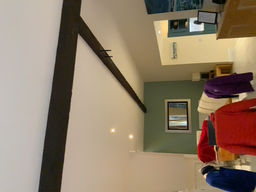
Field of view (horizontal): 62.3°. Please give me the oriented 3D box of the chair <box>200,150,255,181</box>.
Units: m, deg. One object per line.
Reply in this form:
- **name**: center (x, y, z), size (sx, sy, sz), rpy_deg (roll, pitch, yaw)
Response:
- **chair**: center (1.910, 1.260, 3.880), size (0.450, 1.060, 0.480), rpy_deg (52, -141, -70)

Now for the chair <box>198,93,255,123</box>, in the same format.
- **chair**: center (2.050, 0.260, 4.460), size (0.480, 1.030, 0.520), rpy_deg (52, -141, -70)

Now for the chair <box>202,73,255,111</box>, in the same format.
- **chair**: center (1.830, -0.050, 3.550), size (0.460, 1.060, 0.510), rpy_deg (52, -141, -70)
